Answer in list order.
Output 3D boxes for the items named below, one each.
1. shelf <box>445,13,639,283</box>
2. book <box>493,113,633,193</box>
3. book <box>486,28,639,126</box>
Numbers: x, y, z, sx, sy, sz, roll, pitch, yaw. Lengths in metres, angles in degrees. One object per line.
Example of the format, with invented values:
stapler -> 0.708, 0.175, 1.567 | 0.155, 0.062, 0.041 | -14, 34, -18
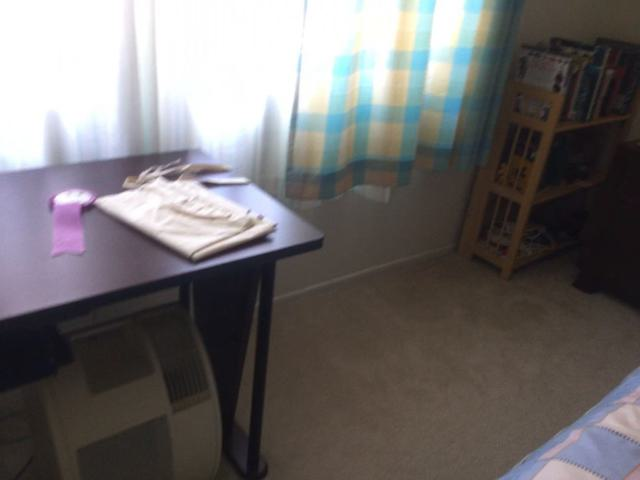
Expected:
shelf -> 1.050, -0.420, 2.570 | 0.750, 1.030, 0.380 | -11, 29, -34
book -> 1.080, -0.400, 2.560 | 0.620, 0.250, 0.220 | -11, 29, -34
book -> 1.050, -0.690, 2.430 | 0.600, 0.320, 0.310 | -11, 29, -34
